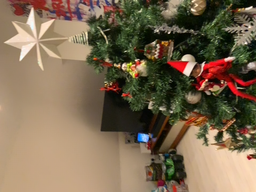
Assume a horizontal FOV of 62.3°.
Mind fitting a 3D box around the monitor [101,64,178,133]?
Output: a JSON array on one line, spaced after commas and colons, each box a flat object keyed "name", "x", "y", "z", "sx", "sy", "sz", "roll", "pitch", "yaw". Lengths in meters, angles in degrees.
[{"name": "monitor", "x": 0.090, "y": 0.140, "z": 3.290, "sx": 1.470, "sy": 0.930, "sz": 0.070, "roll": 103, "pitch": 166, "yaw": -46}]
